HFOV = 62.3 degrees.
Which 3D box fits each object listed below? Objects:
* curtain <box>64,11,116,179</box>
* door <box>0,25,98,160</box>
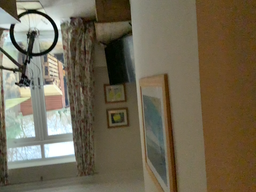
[{"bbox_3d":[-0.630,0.000,3.650,0.590,2.740,0.290,-5,-177,-6],"label":"curtain"},{"bbox_3d":[-1.550,-0.050,4.030,1.740,2.410,0.080,-5,-177,-2],"label":"door"}]
